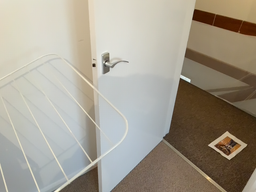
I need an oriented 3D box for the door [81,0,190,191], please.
[{"bbox_3d":[0.100,-0.320,1.150,0.070,1.900,0.820,25,39,30],"label":"door"}]
